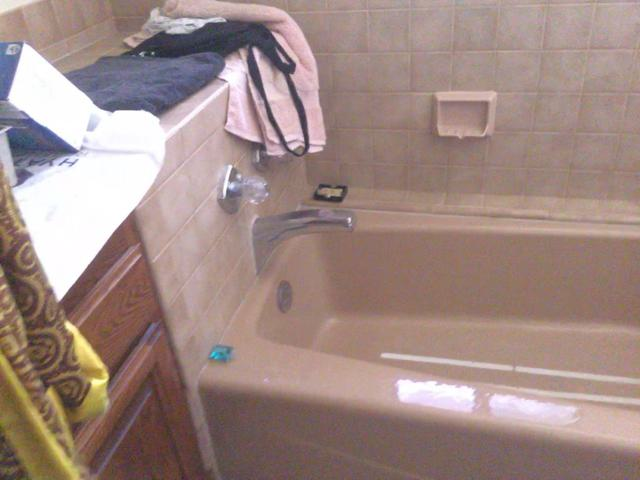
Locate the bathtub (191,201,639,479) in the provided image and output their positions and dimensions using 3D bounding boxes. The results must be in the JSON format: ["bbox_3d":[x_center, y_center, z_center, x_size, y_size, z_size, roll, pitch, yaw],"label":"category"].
[{"bbox_3d":[0.690,0.270,1.370,1.740,0.330,0.810,2,34,16],"label":"bathtub"}]
